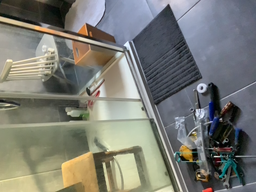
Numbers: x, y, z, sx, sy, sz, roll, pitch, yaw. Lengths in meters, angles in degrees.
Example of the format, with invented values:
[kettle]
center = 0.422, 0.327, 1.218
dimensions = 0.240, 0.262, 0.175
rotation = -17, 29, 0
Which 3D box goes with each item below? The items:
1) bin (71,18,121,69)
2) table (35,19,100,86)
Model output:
[bin]
center = -0.290, -0.450, 1.890
dimensions = 0.280, 0.280, 0.280
rotation = -31, 66, 42
[table]
center = -0.620, -0.410, 2.140
dimensions = 0.390, 0.430, 0.450
rotation = -36, 62, 40
